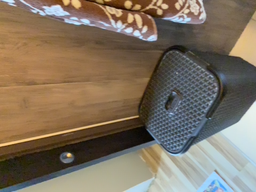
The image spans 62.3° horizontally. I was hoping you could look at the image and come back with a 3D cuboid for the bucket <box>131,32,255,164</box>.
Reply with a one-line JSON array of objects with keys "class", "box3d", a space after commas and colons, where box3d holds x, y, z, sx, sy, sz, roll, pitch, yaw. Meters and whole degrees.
[{"class": "bucket", "box3d": [0.430, -0.010, 1.140, 0.330, 0.630, 0.490, 50, 131, 34]}]
